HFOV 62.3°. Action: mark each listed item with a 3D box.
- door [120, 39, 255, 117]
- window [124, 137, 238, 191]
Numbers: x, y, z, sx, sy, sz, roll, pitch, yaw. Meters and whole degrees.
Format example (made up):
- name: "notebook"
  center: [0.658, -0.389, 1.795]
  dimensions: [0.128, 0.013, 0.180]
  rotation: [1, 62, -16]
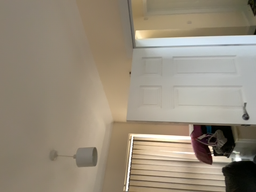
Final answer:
- name: "door"
  center: [1.020, -0.200, 1.950]
  dimensions: [0.030, 2.120, 0.840]
  rotation: [77, -163, -59]
- name: "window"
  center: [0.710, 0.980, 2.990]
  dimensions: [0.030, 1.450, 0.810]
  rotation: [80, -166, -51]
